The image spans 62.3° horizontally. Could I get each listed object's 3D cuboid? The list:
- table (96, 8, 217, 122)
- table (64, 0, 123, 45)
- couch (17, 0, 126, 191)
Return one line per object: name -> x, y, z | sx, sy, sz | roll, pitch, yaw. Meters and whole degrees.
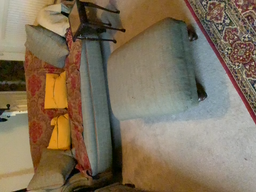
table -> 0.140, -0.140, 1.540 | 0.770, 0.370, 0.570 | -16, 79, 53
table -> -0.340, -0.730, 2.110 | 0.280, 0.460, 0.300 | -30, 68, 51
couch -> -0.730, 0.030, 2.460 | 1.100, 0.720, 1.960 | -12, 83, 54
